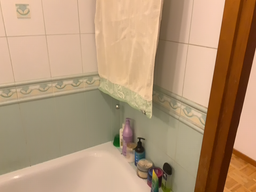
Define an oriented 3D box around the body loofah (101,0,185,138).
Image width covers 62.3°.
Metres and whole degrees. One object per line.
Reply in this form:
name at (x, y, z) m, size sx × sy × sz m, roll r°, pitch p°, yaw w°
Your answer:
body loofah at (0.040, -0.310, 1.150) m, size 0.180 × 0.900 × 0.520 m, roll -10°, pitch 24°, yaw -26°
